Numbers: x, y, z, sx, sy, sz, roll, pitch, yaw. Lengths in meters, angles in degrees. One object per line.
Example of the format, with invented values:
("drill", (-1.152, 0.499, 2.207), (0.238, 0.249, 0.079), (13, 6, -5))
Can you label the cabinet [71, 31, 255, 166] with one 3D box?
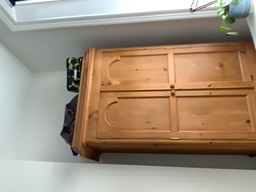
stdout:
("cabinet", (0.580, 0.050, 2.110), (0.640, 1.980, 1.130), (69, -157, -67))
